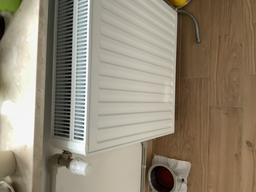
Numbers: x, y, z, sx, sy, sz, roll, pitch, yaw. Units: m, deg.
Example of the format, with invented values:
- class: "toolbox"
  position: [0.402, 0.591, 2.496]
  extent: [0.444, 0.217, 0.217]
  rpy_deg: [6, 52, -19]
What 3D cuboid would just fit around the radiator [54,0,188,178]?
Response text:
- class: "radiator"
  position: [0.050, -0.140, 0.890]
  extent: [0.150, 0.700, 0.730]
  rpy_deg: [2, 89, 34]
